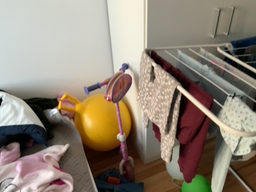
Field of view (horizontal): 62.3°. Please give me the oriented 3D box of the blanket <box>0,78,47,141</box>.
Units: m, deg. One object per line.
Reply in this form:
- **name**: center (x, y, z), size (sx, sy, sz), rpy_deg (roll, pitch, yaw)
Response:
- **blanket**: center (-0.730, 0.090, 1.220), size (0.450, 0.180, 0.280), rpy_deg (-14, 38, -15)
